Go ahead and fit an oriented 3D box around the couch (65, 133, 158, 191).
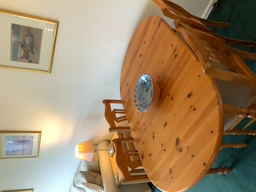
[{"bbox_3d":[-0.420,1.560,3.410,0.950,0.820,1.850,-111,35,-44],"label":"couch"}]
